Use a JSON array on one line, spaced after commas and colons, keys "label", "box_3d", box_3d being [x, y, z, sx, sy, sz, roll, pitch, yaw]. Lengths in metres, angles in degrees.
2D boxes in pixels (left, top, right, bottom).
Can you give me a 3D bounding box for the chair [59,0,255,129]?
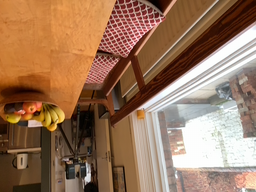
[{"label": "chair", "box_3d": [-0.150, -0.360, 1.500, 0.580, 0.840, 1.980, -1, 163, -20]}]
